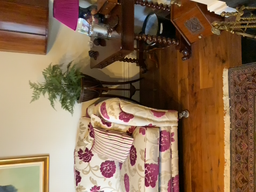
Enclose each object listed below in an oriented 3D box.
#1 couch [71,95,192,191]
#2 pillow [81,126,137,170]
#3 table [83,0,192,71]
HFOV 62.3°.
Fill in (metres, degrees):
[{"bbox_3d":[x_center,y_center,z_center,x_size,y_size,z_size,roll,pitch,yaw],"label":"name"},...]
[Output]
[{"bbox_3d":[-0.040,1.040,2.230,1.060,0.900,2.020,173,97,-65],"label":"couch"},{"bbox_3d":[-0.180,0.510,2.130,0.420,0.410,0.150,-49,64,14],"label":"pillow"},{"bbox_3d":[0.020,-0.670,2.320,1.090,0.770,0.610,176,94,-65],"label":"table"}]
